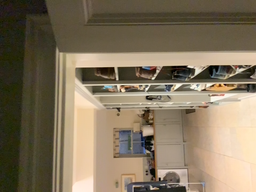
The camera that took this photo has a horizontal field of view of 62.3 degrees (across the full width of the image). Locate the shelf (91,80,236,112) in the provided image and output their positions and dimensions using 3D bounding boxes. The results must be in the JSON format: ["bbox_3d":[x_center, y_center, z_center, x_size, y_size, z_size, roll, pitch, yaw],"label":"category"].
[{"bbox_3d":[0.520,0.050,3.850,1.310,2.180,0.380,102,167,-82],"label":"shelf"}]

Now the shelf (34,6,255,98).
[{"bbox_3d":[0.580,-0.250,1.810,1.330,2.180,0.330,102,167,-82],"label":"shelf"}]
